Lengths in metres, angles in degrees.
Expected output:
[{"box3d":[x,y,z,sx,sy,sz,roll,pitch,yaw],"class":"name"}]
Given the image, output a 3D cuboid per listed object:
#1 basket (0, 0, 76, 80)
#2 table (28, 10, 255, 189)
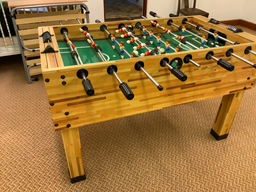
[{"box3d":[-1.360,-0.850,2.840,1.120,0.940,0.700,-10,36,-17],"class":"basket"},{"box3d":[0.100,-0.120,1.710,1.460,0.830,0.960,-10,35,-17],"class":"table"}]
